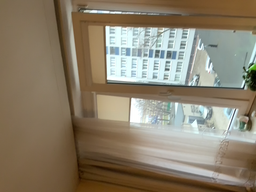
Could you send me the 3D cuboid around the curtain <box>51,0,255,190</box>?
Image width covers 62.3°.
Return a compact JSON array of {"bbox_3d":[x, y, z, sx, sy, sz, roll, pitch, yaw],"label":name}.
[{"bbox_3d":[0.340,0.070,1.990,0.330,1.770,1.770,-75,-11,-57],"label":"curtain"}]
